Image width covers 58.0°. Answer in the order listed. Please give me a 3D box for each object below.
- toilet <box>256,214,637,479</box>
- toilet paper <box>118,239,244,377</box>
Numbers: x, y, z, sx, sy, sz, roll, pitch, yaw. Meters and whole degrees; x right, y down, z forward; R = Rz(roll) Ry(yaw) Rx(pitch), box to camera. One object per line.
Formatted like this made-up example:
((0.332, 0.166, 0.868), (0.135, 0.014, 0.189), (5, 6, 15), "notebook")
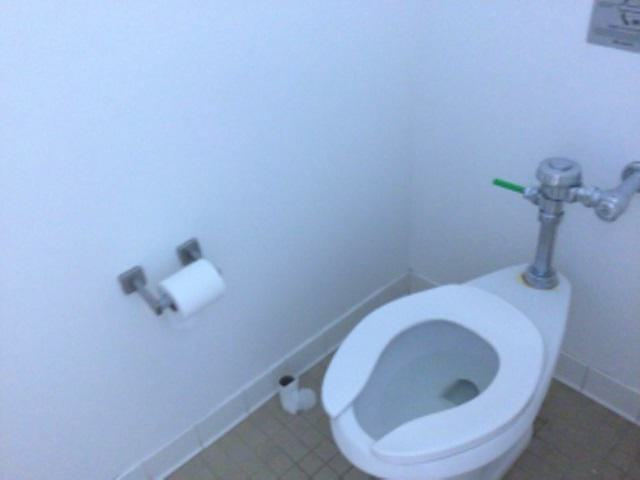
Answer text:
((0.300, 0.360, 1.330), (0.720, 0.460, 0.430), (-32, 43, -32), "toilet")
((-0.290, 0.140, 1.230), (0.170, 0.190, 0.150), (-32, 43, -32), "toilet paper")
